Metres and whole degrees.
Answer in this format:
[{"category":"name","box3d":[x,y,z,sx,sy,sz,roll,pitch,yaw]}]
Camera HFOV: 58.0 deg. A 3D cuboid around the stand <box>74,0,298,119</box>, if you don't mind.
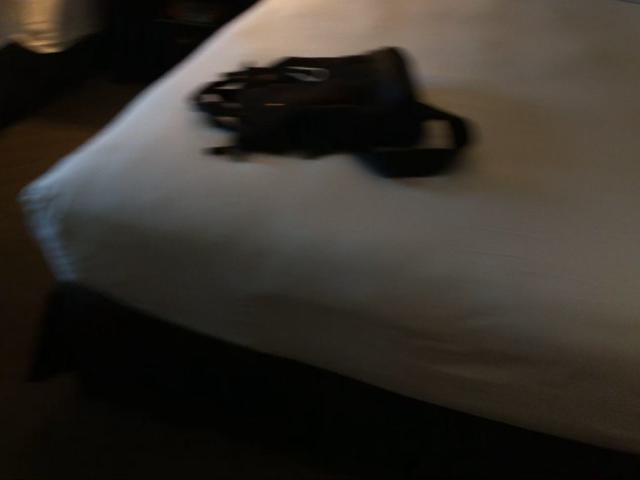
[{"category":"stand","box3d":[-0.560,-1.050,2.550,0.810,0.720,0.540,12,39,9]}]
